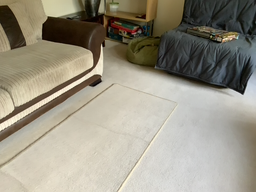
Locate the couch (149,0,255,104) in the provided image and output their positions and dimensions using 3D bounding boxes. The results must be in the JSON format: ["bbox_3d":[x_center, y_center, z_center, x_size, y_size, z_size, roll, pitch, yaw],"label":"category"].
[{"bbox_3d":[0.920,-0.680,2.300,0.910,0.870,1.090,21,37,25],"label":"couch"}]
